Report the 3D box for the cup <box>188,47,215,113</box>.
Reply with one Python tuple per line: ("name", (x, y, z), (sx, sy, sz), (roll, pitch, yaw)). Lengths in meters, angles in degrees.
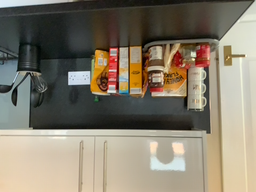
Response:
("cup", (0.410, -0.080, 1.200), (0.110, 0.350, 0.160), (-1, 176, 11))
